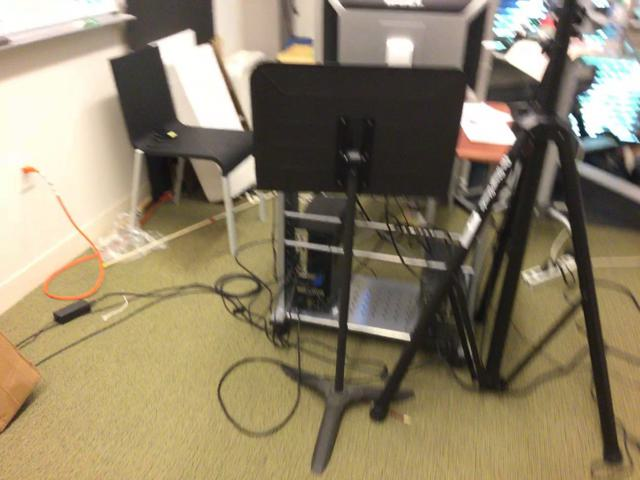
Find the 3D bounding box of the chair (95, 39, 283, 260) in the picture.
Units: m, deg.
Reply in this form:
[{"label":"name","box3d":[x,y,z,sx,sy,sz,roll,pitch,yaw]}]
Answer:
[{"label":"chair","box3d":[-0.540,-0.440,2.630,0.570,0.800,0.610,9,26,12]}]

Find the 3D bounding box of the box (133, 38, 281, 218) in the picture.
[{"label":"box","box3d":[-0.540,-0.610,3.000,0.490,0.740,0.640,9,26,12]}]

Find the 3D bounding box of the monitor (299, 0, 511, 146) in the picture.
[{"label":"monitor","box3d":[0.230,-0.520,1.640,0.540,0.410,0.180,9,26,13]}]
